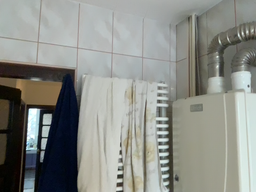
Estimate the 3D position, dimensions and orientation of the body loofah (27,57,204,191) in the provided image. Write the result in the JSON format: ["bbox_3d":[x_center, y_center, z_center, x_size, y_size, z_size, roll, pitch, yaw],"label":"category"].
[{"bbox_3d":[-0.030,0.570,1.230,1.010,1.430,0.240,4,-7,-25],"label":"body loofah"}]
